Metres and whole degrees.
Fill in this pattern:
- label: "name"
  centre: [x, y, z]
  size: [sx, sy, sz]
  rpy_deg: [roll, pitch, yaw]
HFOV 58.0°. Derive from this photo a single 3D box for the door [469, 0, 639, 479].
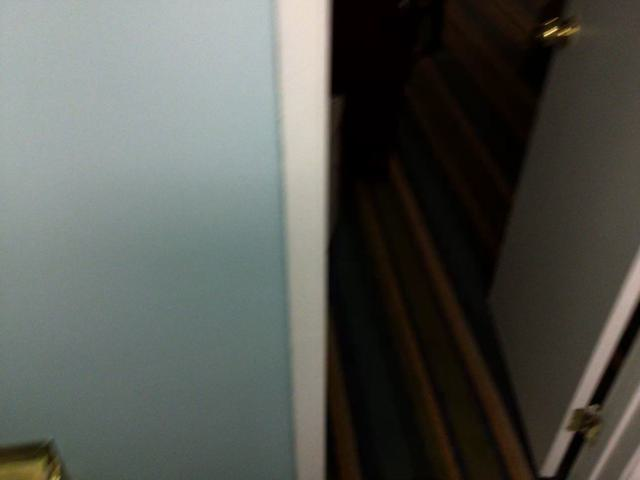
- label: "door"
  centre: [0.530, -0.200, 1.140]
  size: [0.090, 1.560, 0.620]
  rpy_deg: [-1, 41, -1]
